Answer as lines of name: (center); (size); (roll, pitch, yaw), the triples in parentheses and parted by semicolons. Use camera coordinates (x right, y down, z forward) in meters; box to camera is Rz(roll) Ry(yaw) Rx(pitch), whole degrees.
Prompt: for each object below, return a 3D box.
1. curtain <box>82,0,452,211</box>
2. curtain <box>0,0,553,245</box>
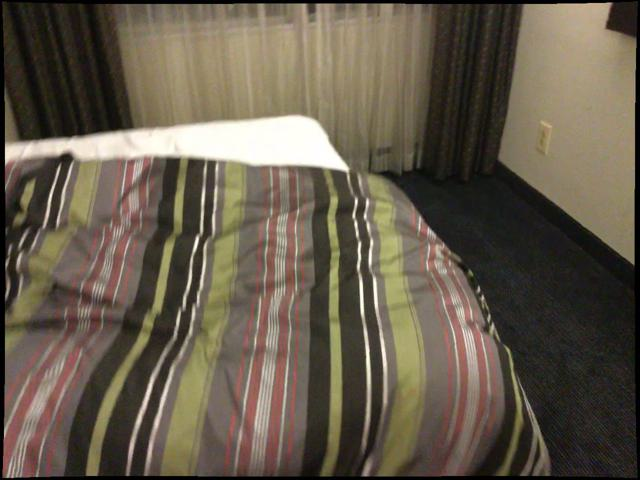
curtain: (-0.200, -1.291, 2.540); (1.658, 2.302, 0.210); (-9, 34, -12)
curtain: (-0.180, -1.191, 2.410); (2.488, 2.232, 0.340); (-9, 34, -12)
